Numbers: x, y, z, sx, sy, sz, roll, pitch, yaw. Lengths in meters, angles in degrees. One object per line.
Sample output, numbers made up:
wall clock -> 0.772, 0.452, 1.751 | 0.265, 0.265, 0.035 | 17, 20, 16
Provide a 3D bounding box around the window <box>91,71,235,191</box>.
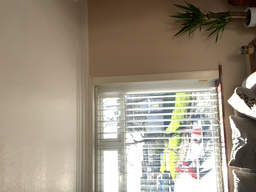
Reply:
window -> 0.400, 0.620, 2.790 | 0.220, 1.750, 1.800 | 42, -134, -80
